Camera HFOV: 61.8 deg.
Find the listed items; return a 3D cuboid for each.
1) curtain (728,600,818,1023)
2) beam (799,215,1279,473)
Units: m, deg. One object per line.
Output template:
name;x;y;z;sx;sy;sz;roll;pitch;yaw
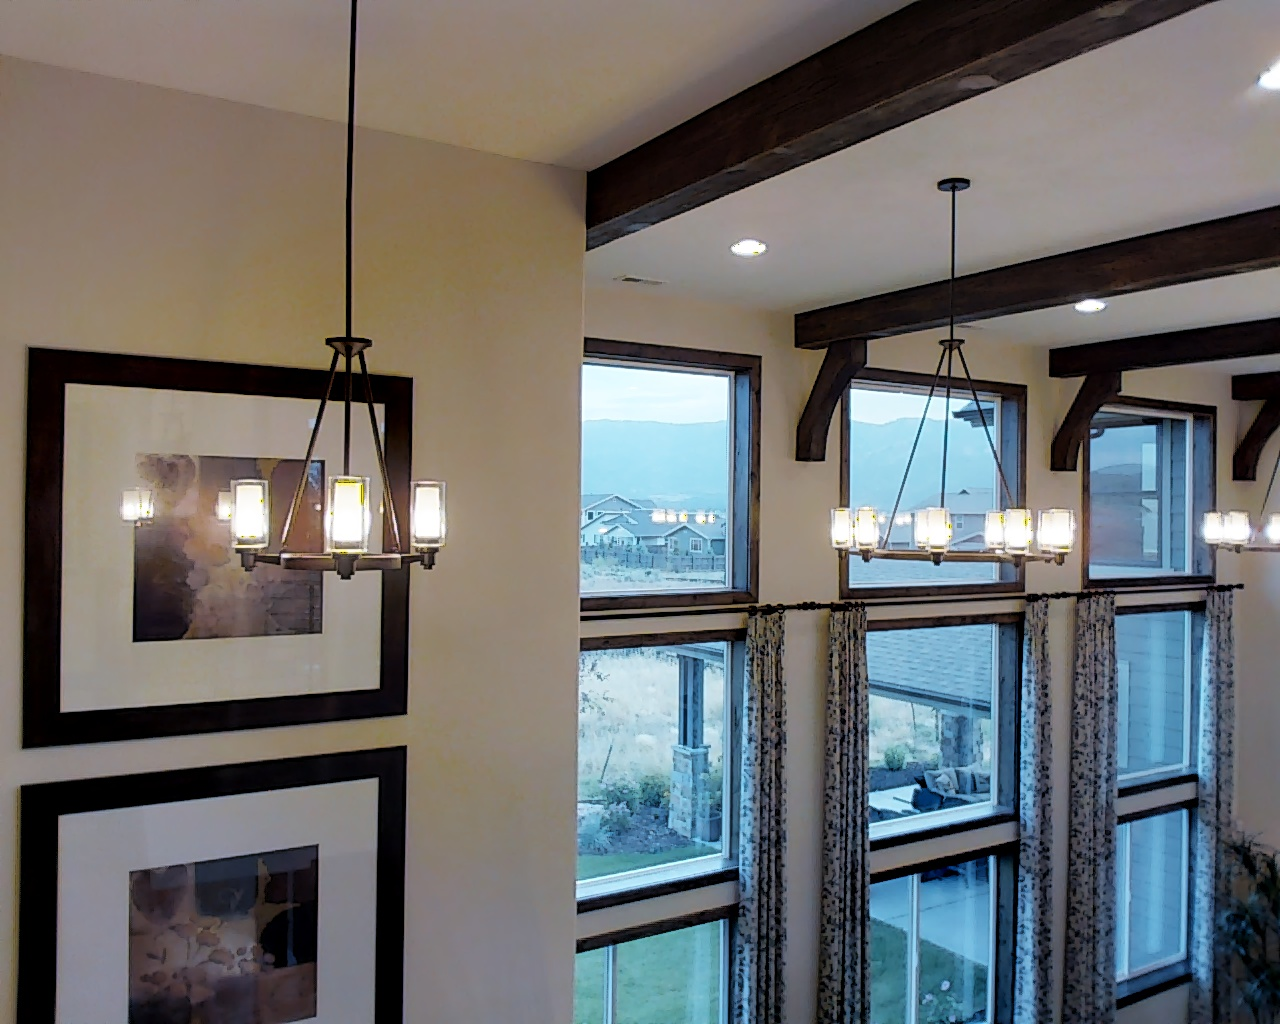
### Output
curtain;0.850;2.750;6.930;0.520;4.330;0.190;1;0;-32
beam;2.510;-0.750;4.990;0.250;0.990;5.050;1;0;-32
